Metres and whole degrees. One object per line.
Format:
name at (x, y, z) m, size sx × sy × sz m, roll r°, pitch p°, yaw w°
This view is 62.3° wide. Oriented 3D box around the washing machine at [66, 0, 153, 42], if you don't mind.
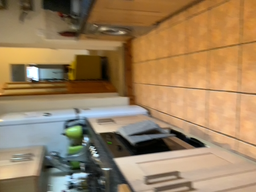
washing machine at (-0.290, -1.130, 2.850) m, size 0.790 × 1.010 × 0.610 m, roll -166°, pitch 75°, yaw -71°
